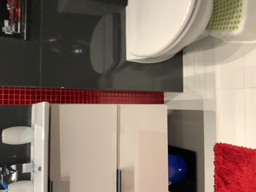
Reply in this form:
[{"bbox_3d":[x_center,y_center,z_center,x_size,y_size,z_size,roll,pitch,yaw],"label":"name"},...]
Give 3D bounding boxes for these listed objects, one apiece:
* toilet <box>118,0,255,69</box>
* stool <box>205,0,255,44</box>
[{"bbox_3d":[0.260,-0.360,1.000,0.530,0.420,0.360,-5,85,62],"label":"toilet"},{"bbox_3d":[0.470,-0.410,0.940,0.220,0.110,0.290,-5,85,62],"label":"stool"}]
